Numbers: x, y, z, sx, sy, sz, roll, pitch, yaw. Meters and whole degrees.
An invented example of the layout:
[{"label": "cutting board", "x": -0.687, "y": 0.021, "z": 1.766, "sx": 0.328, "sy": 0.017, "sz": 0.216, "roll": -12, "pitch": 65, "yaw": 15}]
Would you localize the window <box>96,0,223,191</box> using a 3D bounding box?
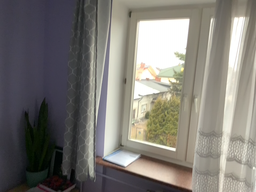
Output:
[{"label": "window", "x": 0.230, "y": -0.100, "z": 1.920, "sx": 0.950, "sy": 1.540, "sz": 0.320, "roll": 8, "pitch": 8, "yaw": 30}]
